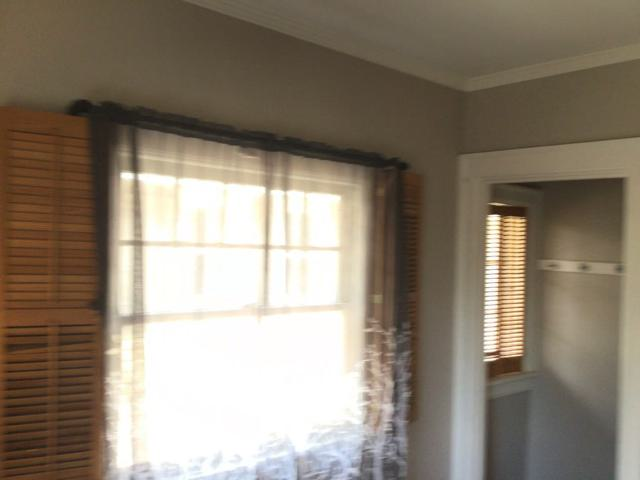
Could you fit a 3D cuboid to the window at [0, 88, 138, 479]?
[{"bbox_3d":[-0.770,0.240,1.720,0.370,1.290,0.140,2,0,-41],"label":"window"}]
